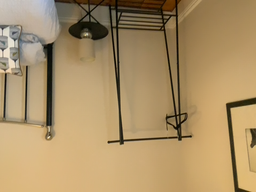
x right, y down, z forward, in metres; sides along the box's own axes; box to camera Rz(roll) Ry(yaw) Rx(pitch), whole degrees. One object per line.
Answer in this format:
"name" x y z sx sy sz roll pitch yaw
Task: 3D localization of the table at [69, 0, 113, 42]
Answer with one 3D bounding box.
"table" -0.390 -0.850 2.140 0.390 0.440 0.400 0 171 -14
